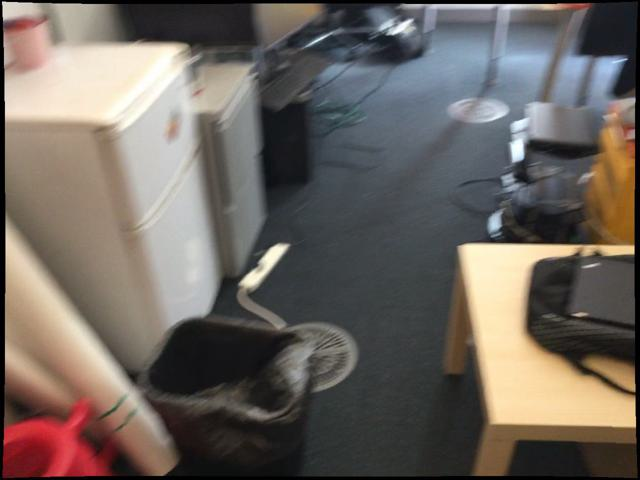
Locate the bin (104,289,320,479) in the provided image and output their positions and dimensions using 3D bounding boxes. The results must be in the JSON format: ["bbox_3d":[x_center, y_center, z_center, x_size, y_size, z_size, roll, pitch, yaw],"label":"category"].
[{"bbox_3d":[-0.220,0.400,1.400,0.390,0.390,0.350,6,38,6],"label":"bin"}]

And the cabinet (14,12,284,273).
[{"bbox_3d":[-0.529,-0.360,2.100,0.689,0.720,0.530,6,38,6],"label":"cabinet"}]

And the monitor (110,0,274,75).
[{"bbox_3d":[-0.440,-0.811,2.020,0.510,0.370,0.210,6,38,6],"label":"monitor"}]
